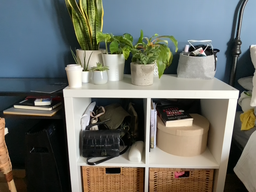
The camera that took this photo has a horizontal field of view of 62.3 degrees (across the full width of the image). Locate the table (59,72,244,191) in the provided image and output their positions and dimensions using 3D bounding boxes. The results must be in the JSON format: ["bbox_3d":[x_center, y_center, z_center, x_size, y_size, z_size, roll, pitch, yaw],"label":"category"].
[{"bbox_3d":[0.100,0.270,1.220,0.800,0.740,0.410,1,16,2],"label":"table"}]

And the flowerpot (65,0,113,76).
[{"bbox_3d":[-0.200,-0.360,1.160,0.220,0.480,0.160,0,16,0],"label":"flowerpot"}]
